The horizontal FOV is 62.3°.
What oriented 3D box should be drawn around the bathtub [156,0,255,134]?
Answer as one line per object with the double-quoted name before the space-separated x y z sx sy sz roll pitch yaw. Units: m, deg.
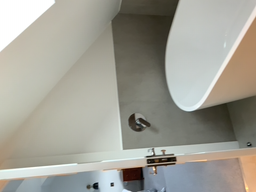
"bathtub" 0.760 -0.590 1.350 1.730 0.580 0.820 101 162 -47
